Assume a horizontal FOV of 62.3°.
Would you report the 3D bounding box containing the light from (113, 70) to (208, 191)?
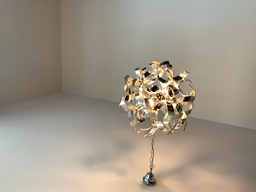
[{"bbox_3d":[0.260,0.320,1.460,0.350,0.430,0.880,-34,125,-35],"label":"light"}]
